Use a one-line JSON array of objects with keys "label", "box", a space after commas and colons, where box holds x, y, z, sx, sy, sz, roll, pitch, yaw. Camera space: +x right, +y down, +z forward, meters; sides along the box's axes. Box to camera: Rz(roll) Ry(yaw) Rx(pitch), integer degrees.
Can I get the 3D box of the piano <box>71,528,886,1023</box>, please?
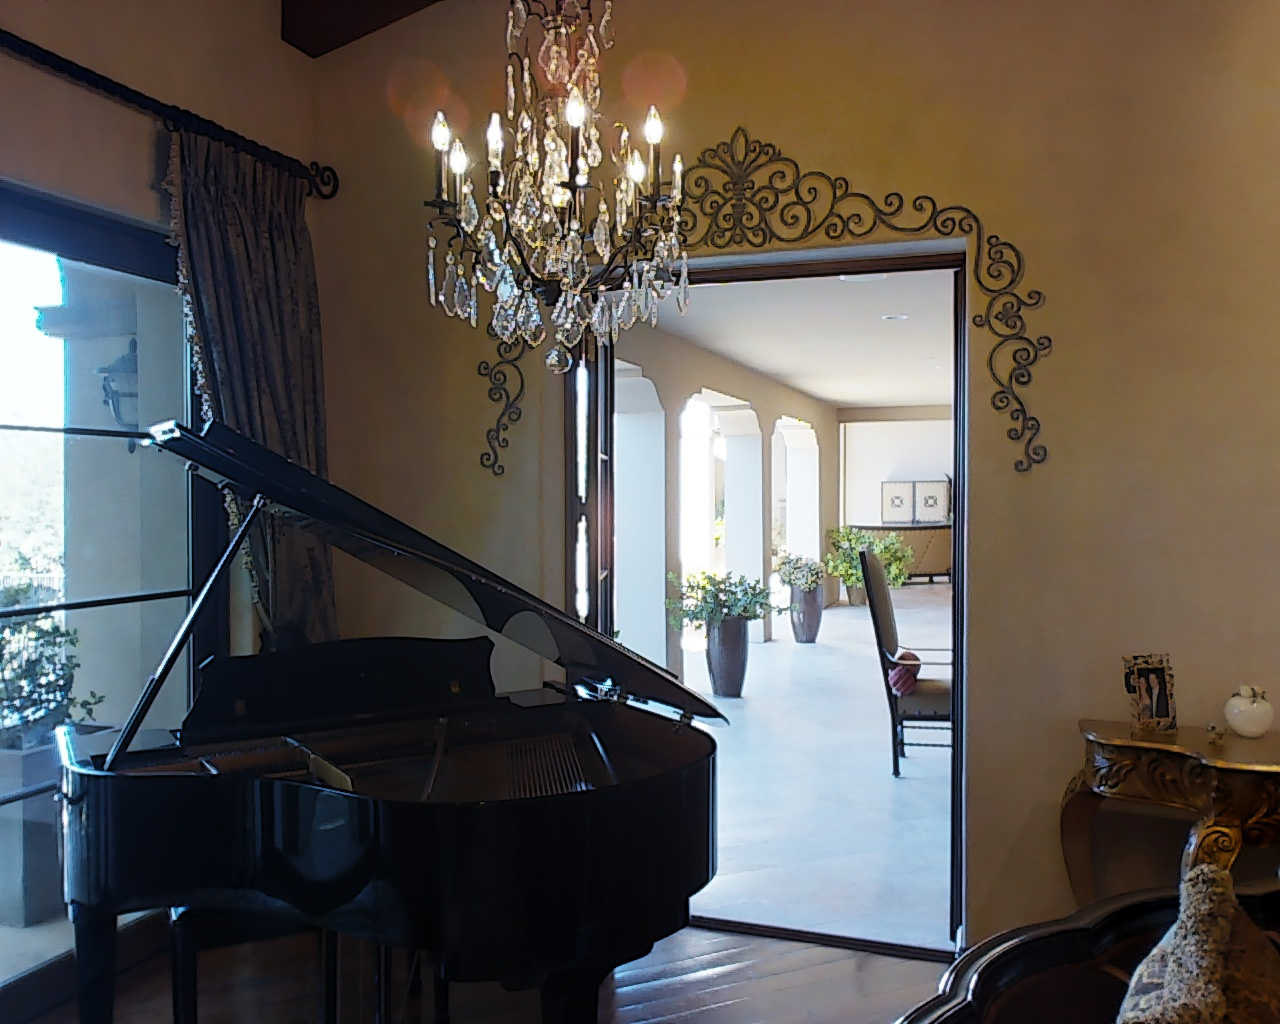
[{"label": "piano", "box": [-0.520, 0.790, 2.720, 1.470, 1.420, 1.680, -1, 1, -33]}]
